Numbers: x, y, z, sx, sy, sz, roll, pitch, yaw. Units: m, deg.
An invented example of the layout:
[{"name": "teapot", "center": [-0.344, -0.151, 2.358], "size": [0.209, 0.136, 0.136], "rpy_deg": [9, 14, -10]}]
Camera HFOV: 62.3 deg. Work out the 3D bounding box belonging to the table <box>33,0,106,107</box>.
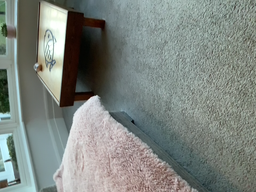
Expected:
[{"name": "table", "center": [-0.630, -0.460, 2.080], "size": [0.820, 0.340, 0.820], "rpy_deg": [37, 122, 45]}]
